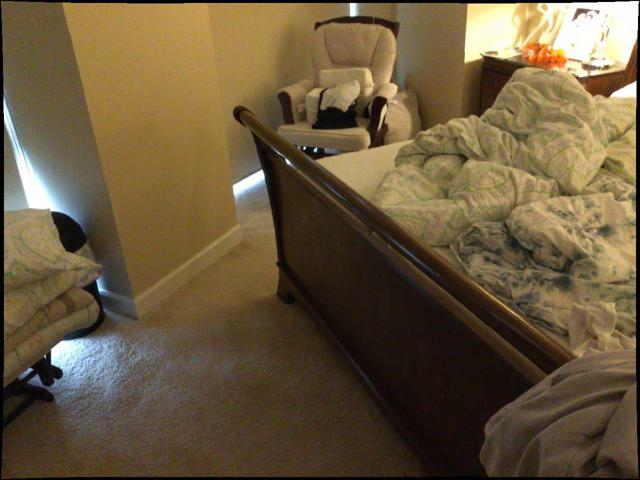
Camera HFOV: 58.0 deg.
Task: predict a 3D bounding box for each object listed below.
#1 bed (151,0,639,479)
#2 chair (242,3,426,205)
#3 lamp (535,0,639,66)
[{"bbox_3d":[1.067,-0.160,1.900,2.635,1.322,2.140,-14,32,-20],"label":"bed"},{"bbox_3d":[0.140,-0.902,3.620,0.808,0.962,0.940,9,32,19],"label":"chair"},{"bbox_3d":[1.516,-1.313,3.090,0.409,0.601,0.460,-14,32,-20],"label":"lamp"}]
